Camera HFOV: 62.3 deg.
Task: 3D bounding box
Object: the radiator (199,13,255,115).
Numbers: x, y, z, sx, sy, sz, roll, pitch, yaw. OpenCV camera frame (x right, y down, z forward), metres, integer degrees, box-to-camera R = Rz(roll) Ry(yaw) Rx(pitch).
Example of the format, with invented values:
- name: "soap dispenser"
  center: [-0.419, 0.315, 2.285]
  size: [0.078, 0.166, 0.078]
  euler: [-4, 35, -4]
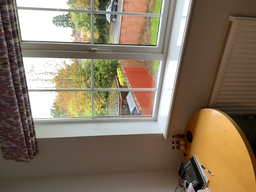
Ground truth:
- name: "radiator"
  center: [0.860, -0.190, 1.500]
  size: [0.110, 0.520, 0.700]
  euler: [-107, 20, -57]
